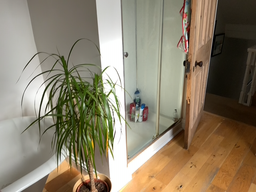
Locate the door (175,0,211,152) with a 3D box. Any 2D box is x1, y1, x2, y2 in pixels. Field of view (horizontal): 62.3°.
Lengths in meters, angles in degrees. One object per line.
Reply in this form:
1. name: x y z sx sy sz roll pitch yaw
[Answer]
1. door: 0.630 -0.560 1.920 0.080 2.070 0.790 10 28 23
